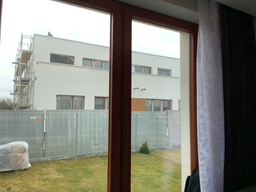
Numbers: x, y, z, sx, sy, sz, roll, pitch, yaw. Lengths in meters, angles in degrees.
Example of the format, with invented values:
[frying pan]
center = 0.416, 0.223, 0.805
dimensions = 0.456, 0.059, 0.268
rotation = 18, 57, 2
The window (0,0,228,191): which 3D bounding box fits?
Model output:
[window]
center = -0.350, 0.440, 1.470
dimensions = 2.840, 2.840, 0.250
rotation = 3, -5, -29
